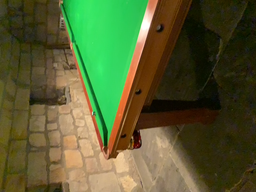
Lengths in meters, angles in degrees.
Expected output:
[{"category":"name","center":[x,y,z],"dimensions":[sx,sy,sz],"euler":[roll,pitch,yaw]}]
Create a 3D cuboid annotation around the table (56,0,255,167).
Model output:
[{"category":"table","center":[-0.080,-1.240,2.160],"dimensions":[3.240,0.910,1.700],"euler":[-118,36,-46]}]
